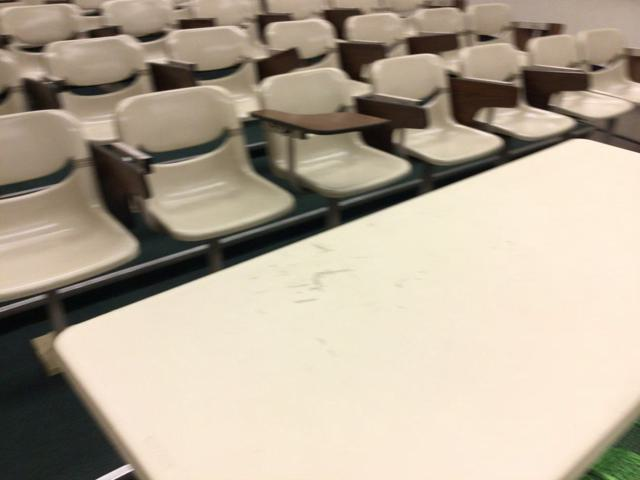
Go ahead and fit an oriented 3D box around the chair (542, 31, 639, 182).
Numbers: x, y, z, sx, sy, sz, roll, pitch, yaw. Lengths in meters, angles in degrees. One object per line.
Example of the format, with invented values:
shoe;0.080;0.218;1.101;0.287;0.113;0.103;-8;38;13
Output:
chair;1.860;-0.870;3.650;0.590;0.760;0.550;-21;31;-31

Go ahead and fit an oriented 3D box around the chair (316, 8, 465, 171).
chair;0.440;-0.970;3.620;0.680;0.820;0.560;-21;31;-31

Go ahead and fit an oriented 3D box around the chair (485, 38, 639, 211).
chair;1.400;-0.690;3.310;0.630;0.780;0.550;-21;31;-31

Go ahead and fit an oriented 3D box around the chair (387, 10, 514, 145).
chair;0.860;-1.120;3.900;0.610;0.740;0.530;-21;31;-31

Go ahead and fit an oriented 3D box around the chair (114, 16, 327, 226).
chair;-0.470;-0.640;2.910;0.780;0.820;0.560;-21;31;-31

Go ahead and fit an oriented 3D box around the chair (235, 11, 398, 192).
chair;0.000;-0.820;3.290;0.670;0.820;0.570;-21;31;-31

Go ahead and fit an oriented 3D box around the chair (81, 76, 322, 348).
chair;-0.420;-0.150;2.150;0.590;0.750;0.560;-21;31;-31

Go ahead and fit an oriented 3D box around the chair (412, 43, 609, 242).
chair;0.950;-0.540;2.970;0.770;0.770;0.550;-21;31;-31

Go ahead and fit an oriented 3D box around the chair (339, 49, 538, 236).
chair;0.520;-0.480;2.620;0.620;0.620;0.570;-21;31;-31

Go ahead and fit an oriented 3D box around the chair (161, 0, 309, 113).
chair;-0.550;-1.290;3.800;0.690;0.690;0.590;-21;31;-31

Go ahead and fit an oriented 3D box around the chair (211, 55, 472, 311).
chair;0.090;-0.300;2.410;0.740;0.750;0.700;-21;31;-31

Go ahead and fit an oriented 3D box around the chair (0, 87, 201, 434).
chair;-0.850;0.010;1.850;0.630;0.810;0.550;-21;31;-31
